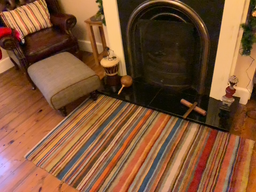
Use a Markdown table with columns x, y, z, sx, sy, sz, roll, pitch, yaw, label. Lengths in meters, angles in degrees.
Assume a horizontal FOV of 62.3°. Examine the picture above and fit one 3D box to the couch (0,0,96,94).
| x | y | z | sx | sy | sz | roll | pitch | yaw | label |
| --- | --- | --- | --- | --- | --- | --- | --- | --- | --- |
| -1.140 | -0.850 | 2.580 | 0.860 | 1.070 | 1.010 | -34 | 45 | -29 | couch |
